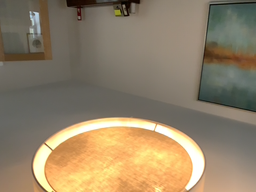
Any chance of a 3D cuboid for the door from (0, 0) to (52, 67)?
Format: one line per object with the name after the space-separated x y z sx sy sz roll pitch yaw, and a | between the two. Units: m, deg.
-1.670 -1.520 3.230 0.820 2.140 0.140 -3 -162 -15 | door
